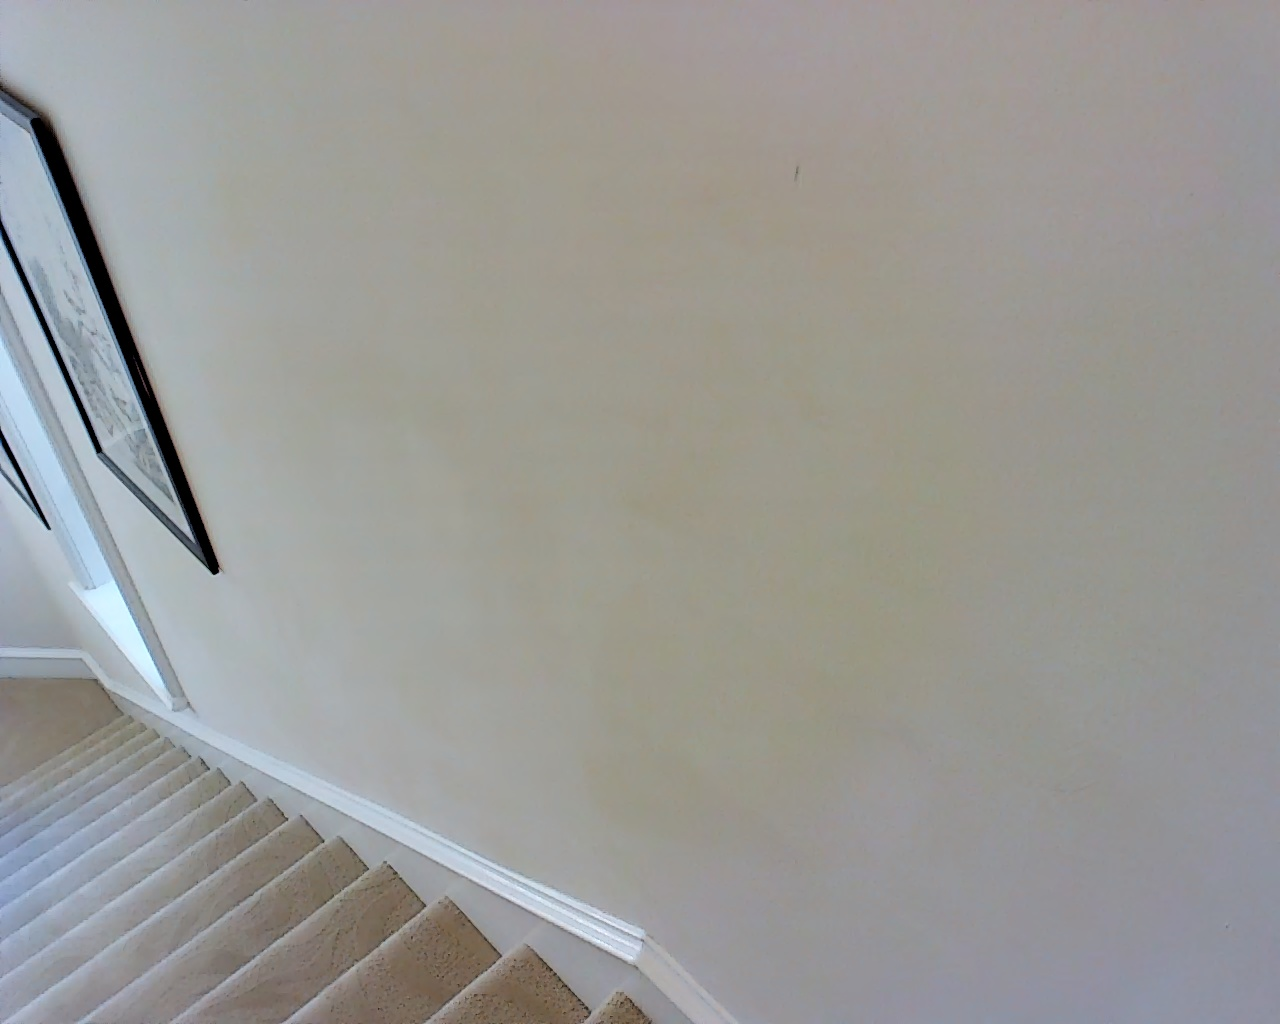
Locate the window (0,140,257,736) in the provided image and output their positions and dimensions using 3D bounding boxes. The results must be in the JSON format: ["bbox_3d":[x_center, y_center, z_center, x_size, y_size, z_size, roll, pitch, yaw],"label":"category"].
[{"bbox_3d":[-1.620,-0.180,3.050,0.290,1.680,0.760,-33,51,-31],"label":"window"}]

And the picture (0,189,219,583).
[{"bbox_3d":[-1.020,-0.240,2.000,0.030,0.640,0.550,-33,51,-31],"label":"picture"}]
